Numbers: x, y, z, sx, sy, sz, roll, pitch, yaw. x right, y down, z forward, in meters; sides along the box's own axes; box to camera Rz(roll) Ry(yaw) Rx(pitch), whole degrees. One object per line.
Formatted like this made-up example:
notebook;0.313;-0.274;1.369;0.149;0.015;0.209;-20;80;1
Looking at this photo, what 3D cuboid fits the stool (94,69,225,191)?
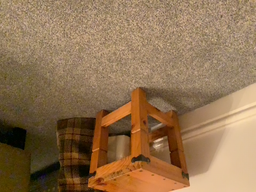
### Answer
stool;0.100;0.170;0.790;0.310;0.340;0.290;-31;134;33
